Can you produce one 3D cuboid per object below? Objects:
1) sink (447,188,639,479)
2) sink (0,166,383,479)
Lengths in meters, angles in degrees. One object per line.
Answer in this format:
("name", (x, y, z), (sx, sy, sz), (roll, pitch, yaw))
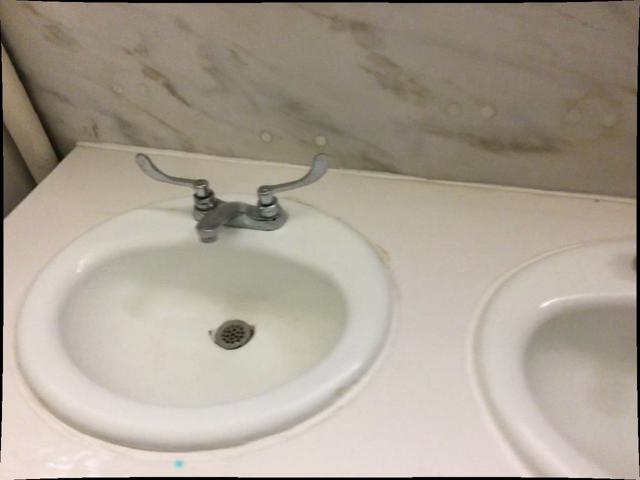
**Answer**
("sink", (0.410, 0.170, 0.660), (0.490, 0.220, 0.410), (5, 43, 12))
("sink", (-0.170, 0.110, 0.790), (0.460, 0.200, 0.400), (5, 43, 12))
